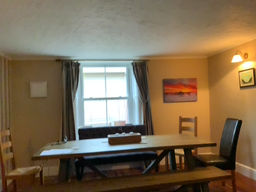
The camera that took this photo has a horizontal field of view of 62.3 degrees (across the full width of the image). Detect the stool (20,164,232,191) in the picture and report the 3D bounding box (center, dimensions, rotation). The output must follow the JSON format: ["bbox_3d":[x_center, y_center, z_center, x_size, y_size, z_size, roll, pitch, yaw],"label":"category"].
[{"bbox_3d":[0.030,1.170,2.450,2.320,0.450,0.400,-2,-2,-10],"label":"stool"}]

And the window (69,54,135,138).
[{"bbox_3d":[-0.580,-0.020,4.740,1.360,1.760,0.400,-2,-2,-11],"label":"window"}]

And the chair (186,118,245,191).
[{"bbox_3d":[1.270,0.860,3.150,0.640,1.010,0.450,-2,-2,-2],"label":"chair"}]
